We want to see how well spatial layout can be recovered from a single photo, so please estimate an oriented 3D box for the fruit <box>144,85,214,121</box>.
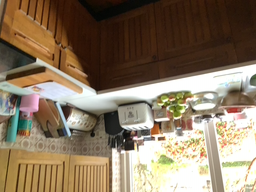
[{"bbox_3d":[0.440,0.080,1.800,0.440,0.130,0.440,-13,159,30],"label":"fruit"}]
